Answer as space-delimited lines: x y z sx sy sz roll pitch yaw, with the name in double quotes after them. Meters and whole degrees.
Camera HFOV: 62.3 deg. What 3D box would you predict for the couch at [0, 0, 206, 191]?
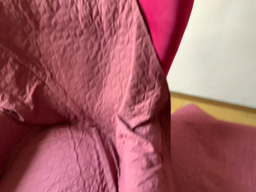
-0.240 0.200 0.780 0.770 1.010 0.770 8 51 9 "couch"
